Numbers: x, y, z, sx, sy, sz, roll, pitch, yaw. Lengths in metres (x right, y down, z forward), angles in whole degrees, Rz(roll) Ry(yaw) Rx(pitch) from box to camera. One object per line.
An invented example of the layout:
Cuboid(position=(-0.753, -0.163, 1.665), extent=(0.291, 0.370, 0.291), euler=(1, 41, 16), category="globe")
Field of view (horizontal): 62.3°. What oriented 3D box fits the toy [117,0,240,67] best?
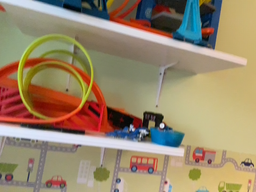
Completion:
Cuboid(position=(0.210, -0.400, 0.880), extent=(0.370, 0.450, 0.280), euler=(11, -2, -19), category="toy")
